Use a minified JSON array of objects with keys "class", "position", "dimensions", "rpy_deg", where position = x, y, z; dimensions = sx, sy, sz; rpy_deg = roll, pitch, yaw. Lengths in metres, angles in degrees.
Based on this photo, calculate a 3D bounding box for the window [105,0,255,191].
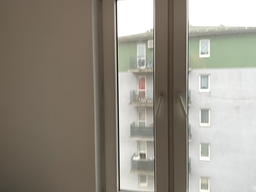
[{"class":"window","position":[0.620,0.050,1.240],"dimensions":[1.460,1.400,0.290],"rpy_deg":[0,3,12]}]
